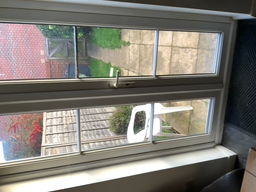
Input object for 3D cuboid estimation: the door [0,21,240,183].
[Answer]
[{"bbox_3d":[0.000,0.020,1.690,0.060,2.080,1.070,-145,54,-65],"label":"door"}]
